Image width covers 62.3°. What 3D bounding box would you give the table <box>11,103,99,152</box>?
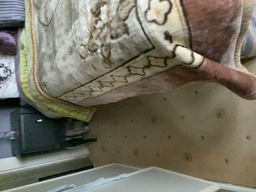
[{"bbox_3d":[-0.730,0.300,2.140,0.430,0.710,0.360,-15,81,51],"label":"table"}]
